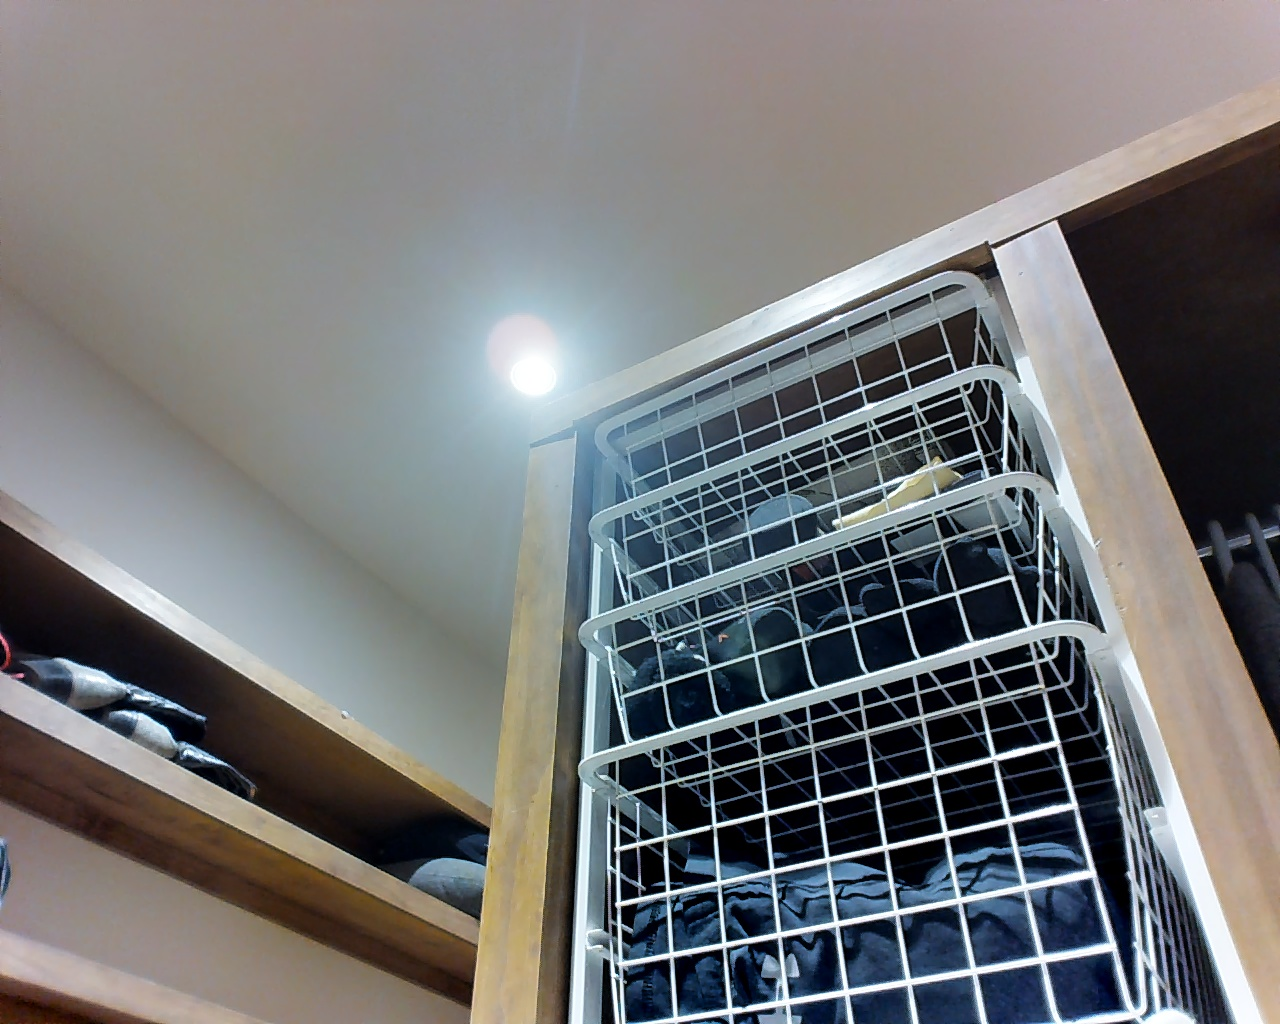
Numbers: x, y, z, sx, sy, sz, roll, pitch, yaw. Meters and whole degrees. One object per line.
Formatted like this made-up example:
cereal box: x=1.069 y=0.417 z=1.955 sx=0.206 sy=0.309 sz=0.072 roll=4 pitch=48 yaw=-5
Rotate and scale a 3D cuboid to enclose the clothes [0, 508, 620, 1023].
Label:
clothes: x=-0.630 y=0.550 z=1.910 sx=0.330 sy=0.210 sz=1.720 roll=-22 pitch=-46 yaw=22
